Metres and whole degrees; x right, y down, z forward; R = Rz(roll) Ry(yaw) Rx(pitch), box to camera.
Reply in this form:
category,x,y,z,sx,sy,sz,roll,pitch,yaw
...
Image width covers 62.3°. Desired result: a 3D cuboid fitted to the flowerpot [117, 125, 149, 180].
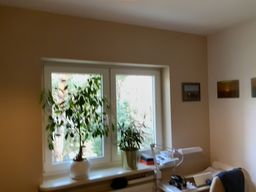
category,x,y,z,sx,sy,sz,roll,pitch,yaw
flowerpot,0.050,0.610,2.370,0.270,0.520,0.250,-1,-1,-18
